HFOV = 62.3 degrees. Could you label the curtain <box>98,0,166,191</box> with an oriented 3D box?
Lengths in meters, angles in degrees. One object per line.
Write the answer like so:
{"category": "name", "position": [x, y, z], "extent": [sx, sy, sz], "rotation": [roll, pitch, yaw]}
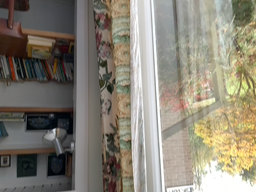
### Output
{"category": "curtain", "position": [-0.030, -0.160, 1.100], "extent": [0.170, 2.230, 0.490], "rotation": [0, 170, -16]}
